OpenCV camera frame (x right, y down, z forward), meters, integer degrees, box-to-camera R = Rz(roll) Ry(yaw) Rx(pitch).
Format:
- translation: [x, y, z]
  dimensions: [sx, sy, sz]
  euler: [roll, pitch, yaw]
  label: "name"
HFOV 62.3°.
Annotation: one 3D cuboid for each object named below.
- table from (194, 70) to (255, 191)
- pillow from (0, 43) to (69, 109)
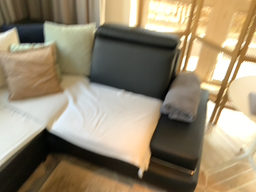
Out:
- translation: [0.880, 0.320, 1.490]
  dimensions: [0.580, 0.710, 0.560]
  euler: [16, 39, 15]
  label: "table"
- translation: [-0.810, -0.140, 1.750]
  dimensions: [0.490, 0.330, 0.200]
  euler: [-37, 72, 5]
  label: "pillow"
